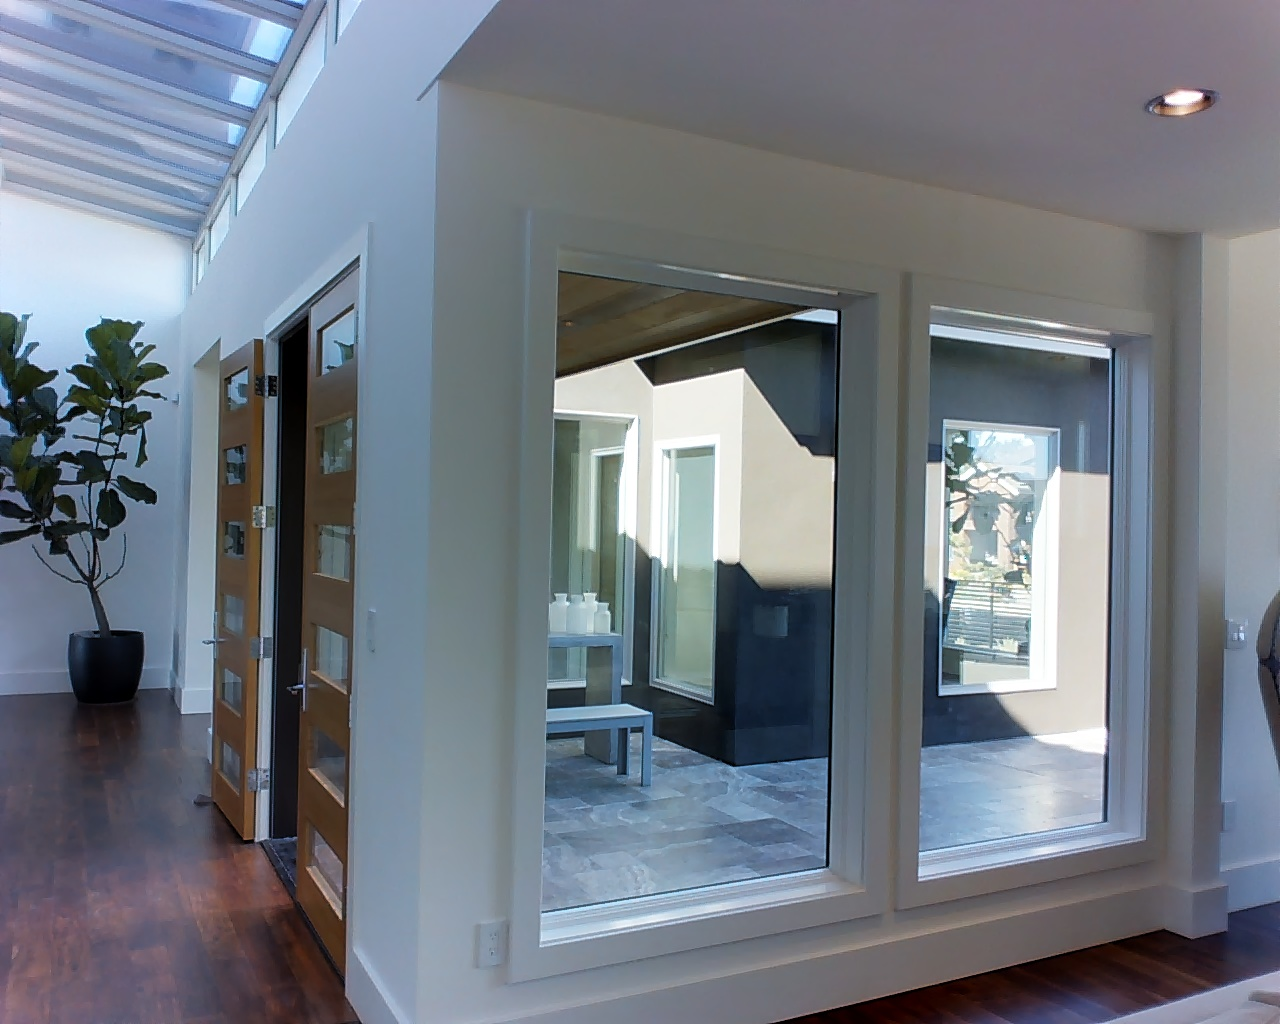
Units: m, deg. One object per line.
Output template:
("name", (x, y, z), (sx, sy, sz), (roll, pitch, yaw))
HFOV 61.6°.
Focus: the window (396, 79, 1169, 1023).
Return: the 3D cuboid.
("window", (0.700, 0.240, 3.620), (2.970, 2.730, 0.190), (1, -1, -28))
